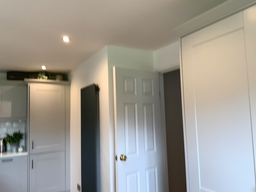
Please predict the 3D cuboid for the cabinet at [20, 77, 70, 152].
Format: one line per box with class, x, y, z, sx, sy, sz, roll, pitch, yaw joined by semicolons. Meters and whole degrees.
cabinet;-1.580;0.330;4.020;0.780;1.250;0.630;1;-5;-31
